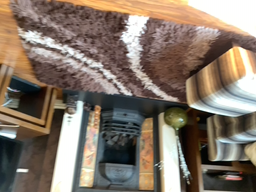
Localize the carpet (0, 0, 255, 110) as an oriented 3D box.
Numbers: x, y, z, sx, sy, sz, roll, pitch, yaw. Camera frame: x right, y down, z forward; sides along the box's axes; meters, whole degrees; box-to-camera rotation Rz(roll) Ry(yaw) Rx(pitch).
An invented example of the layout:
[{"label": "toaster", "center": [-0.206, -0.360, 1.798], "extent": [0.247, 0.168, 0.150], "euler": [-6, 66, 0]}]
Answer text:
[{"label": "carpet", "center": [0.030, -0.210, 1.760], "extent": [1.720, 0.040, 1.200], "euler": [7, 154, -10]}]

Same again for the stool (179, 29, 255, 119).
[{"label": "stool", "center": [0.730, -0.110, 1.510], "extent": [0.510, 0.340, 0.480], "euler": [13, 152, -20]}]

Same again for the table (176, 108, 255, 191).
[{"label": "table", "center": [1.120, 0.670, 2.490], "extent": [0.980, 0.880, 0.350], "euler": [8, 154, -12]}]

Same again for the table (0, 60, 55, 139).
[{"label": "table", "center": [-1.200, -0.010, 1.750], "extent": [0.490, 0.450, 0.980], "euler": [-13, 150, 29]}]
